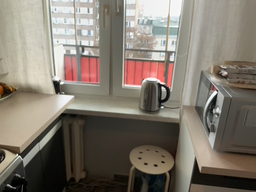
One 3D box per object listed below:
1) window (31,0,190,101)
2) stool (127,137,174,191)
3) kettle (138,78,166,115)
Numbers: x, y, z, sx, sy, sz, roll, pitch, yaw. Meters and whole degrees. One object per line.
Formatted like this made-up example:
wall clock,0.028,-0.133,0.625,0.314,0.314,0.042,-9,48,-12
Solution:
window,-0.130,-0.670,1.470,1.080,1.390,0.110,5,21,5
stool,0.160,0.600,1.600,0.290,0.450,0.300,5,21,6
kettle,0.170,0.000,1.500,0.170,0.220,0.120,7,21,10
